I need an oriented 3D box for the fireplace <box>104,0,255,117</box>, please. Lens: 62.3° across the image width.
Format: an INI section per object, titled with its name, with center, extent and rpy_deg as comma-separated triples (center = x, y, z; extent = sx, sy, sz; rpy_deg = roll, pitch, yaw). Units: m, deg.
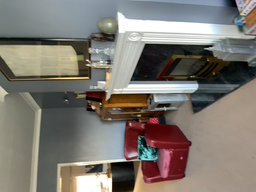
[fireplace]
center = 0.410, -0.240, 2.210
extent = 1.450, 1.200, 0.550
rpy_deg = 117, 151, -67
